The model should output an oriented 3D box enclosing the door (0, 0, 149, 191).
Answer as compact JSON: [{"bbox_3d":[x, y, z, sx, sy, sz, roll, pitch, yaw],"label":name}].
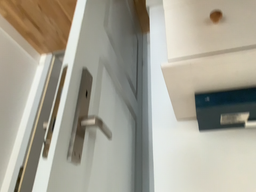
[{"bbox_3d":[-0.060,0.200,0.850,0.130,2.000,0.890,-6,149,13],"label":"door"}]
